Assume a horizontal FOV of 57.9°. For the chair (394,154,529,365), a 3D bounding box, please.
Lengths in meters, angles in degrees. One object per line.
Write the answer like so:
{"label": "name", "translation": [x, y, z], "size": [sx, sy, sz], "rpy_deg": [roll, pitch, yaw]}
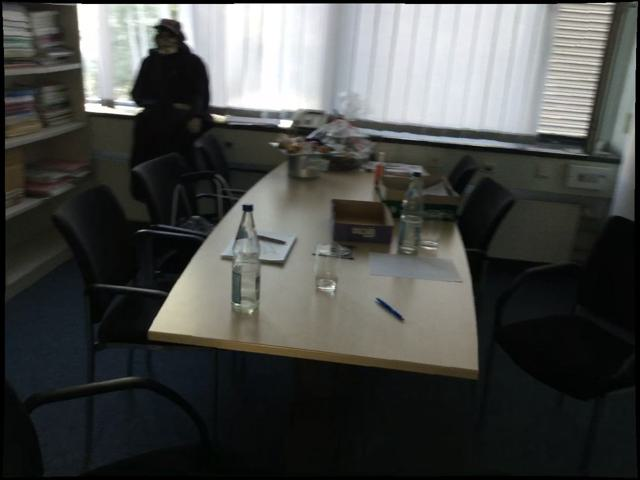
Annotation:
{"label": "chair", "translation": [0.589, 0.060, 2.600], "size": [0.440, 0.751, 0.580], "rpy_deg": [5, 21, 6]}

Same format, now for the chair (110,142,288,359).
{"label": "chair", "translation": [-0.499, 0.020, 2.600], "size": [0.599, 0.791, 0.530], "rpy_deg": [5, 21, 7]}

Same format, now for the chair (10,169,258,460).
{"label": "chair", "translation": [-0.579, 0.220, 2.050], "size": [0.589, 0.781, 0.600], "rpy_deg": [5, 21, 7]}

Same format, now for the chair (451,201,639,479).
{"label": "chair", "translation": [0.939, 0.310, 2.010], "size": [0.729, 0.761, 0.450], "rpy_deg": [-4, 22, -18]}
